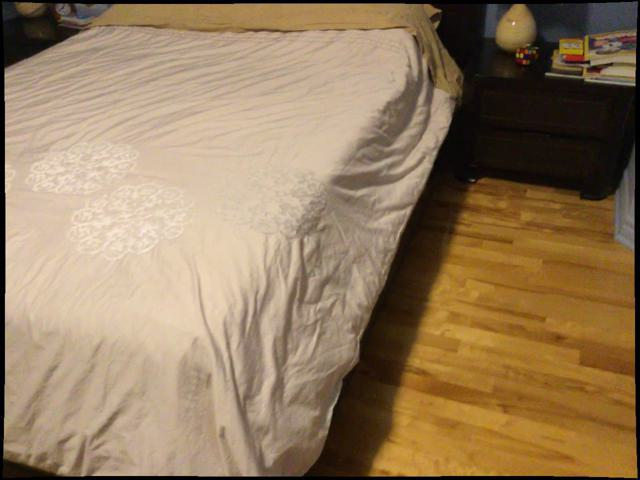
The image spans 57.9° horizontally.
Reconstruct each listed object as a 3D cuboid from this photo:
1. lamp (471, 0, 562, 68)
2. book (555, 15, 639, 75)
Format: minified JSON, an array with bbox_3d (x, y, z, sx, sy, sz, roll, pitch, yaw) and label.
[{"bbox_3d":[0.759,-0.921,2.190,0.290,0.420,0.300,9,39,18],"label":"lamp"},{"bbox_3d":[1.029,-0.711,2.080,0.320,0.070,0.400,9,39,18],"label":"book"}]
